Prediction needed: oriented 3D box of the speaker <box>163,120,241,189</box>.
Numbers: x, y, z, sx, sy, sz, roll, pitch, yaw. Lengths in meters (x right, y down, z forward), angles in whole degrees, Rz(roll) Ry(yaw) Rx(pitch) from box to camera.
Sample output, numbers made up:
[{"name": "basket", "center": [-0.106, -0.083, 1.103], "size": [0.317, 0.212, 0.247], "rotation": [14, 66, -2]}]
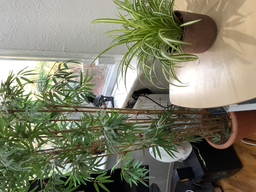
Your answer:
[{"name": "speaker", "center": [0.530, 0.430, 1.600], "size": [0.270, 0.350, 0.390], "rotation": [110, 152, -47]}]

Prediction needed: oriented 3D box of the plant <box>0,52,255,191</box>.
[{"name": "plant", "center": [0.000, 0.200, 1.150], "size": [0.500, 1.640, 0.640], "rotation": [-112, 28, -46]}]
